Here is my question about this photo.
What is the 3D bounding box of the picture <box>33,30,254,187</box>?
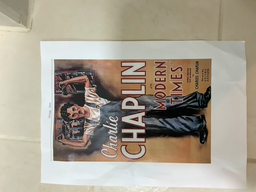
[{"bbox_3d":[0.020,0.020,0.300,0.300,0.010,0.210,-2,91,2],"label":"picture"}]
